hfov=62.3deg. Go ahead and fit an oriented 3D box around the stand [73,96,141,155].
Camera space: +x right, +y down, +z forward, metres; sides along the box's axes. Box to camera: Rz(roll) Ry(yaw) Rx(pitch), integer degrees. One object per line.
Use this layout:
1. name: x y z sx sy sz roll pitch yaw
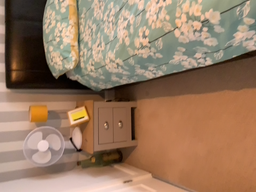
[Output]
1. stand: -0.220 0.260 2.080 0.480 0.490 0.490 -8 83 57
